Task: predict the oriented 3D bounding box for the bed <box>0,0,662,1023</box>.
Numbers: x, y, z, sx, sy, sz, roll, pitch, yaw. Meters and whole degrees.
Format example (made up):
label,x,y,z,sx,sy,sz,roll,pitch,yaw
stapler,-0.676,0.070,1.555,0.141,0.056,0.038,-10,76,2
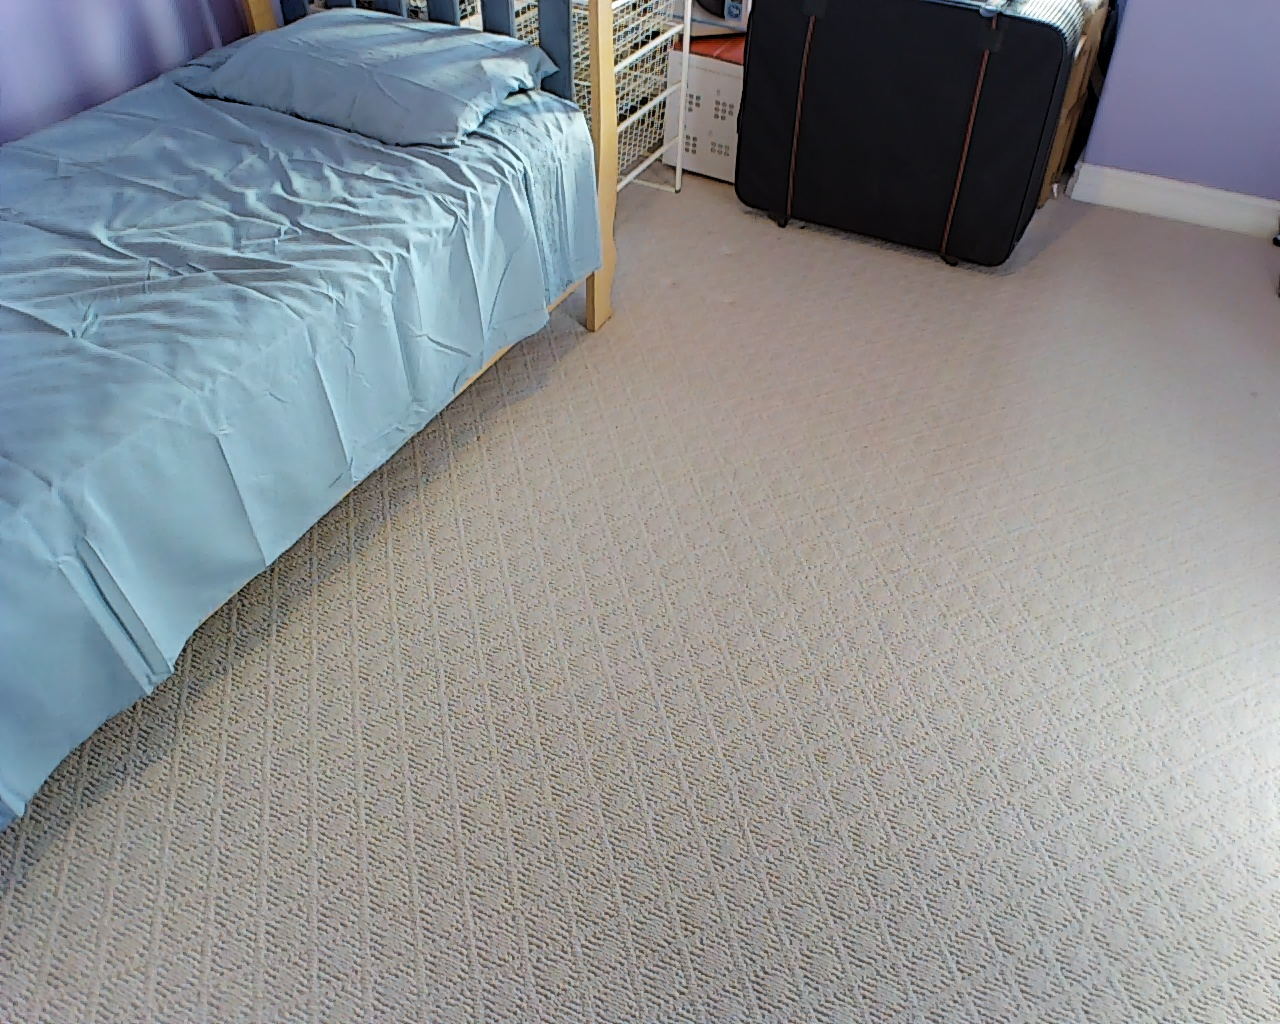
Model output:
label,x,y,z,sx,sy,sz,roll,pitch,yaw
bed,-0.920,-0.430,1.950,1.140,0.970,2.080,18,45,19
